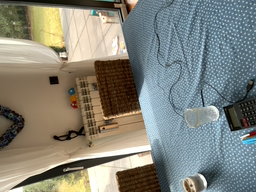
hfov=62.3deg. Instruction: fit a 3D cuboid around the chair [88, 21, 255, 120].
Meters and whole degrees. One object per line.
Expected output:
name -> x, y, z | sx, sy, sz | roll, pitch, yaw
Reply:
chair -> 0.300, -0.170, 1.560 | 0.570, 0.990, 0.470 | -23, 76, 61
